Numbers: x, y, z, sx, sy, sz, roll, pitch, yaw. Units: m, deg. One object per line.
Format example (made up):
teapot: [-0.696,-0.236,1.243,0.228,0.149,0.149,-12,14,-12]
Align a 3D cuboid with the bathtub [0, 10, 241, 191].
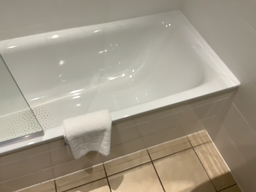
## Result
bathtub: [-0.330,0.030,1.300,1.670,0.530,0.690,-14,57,-14]
